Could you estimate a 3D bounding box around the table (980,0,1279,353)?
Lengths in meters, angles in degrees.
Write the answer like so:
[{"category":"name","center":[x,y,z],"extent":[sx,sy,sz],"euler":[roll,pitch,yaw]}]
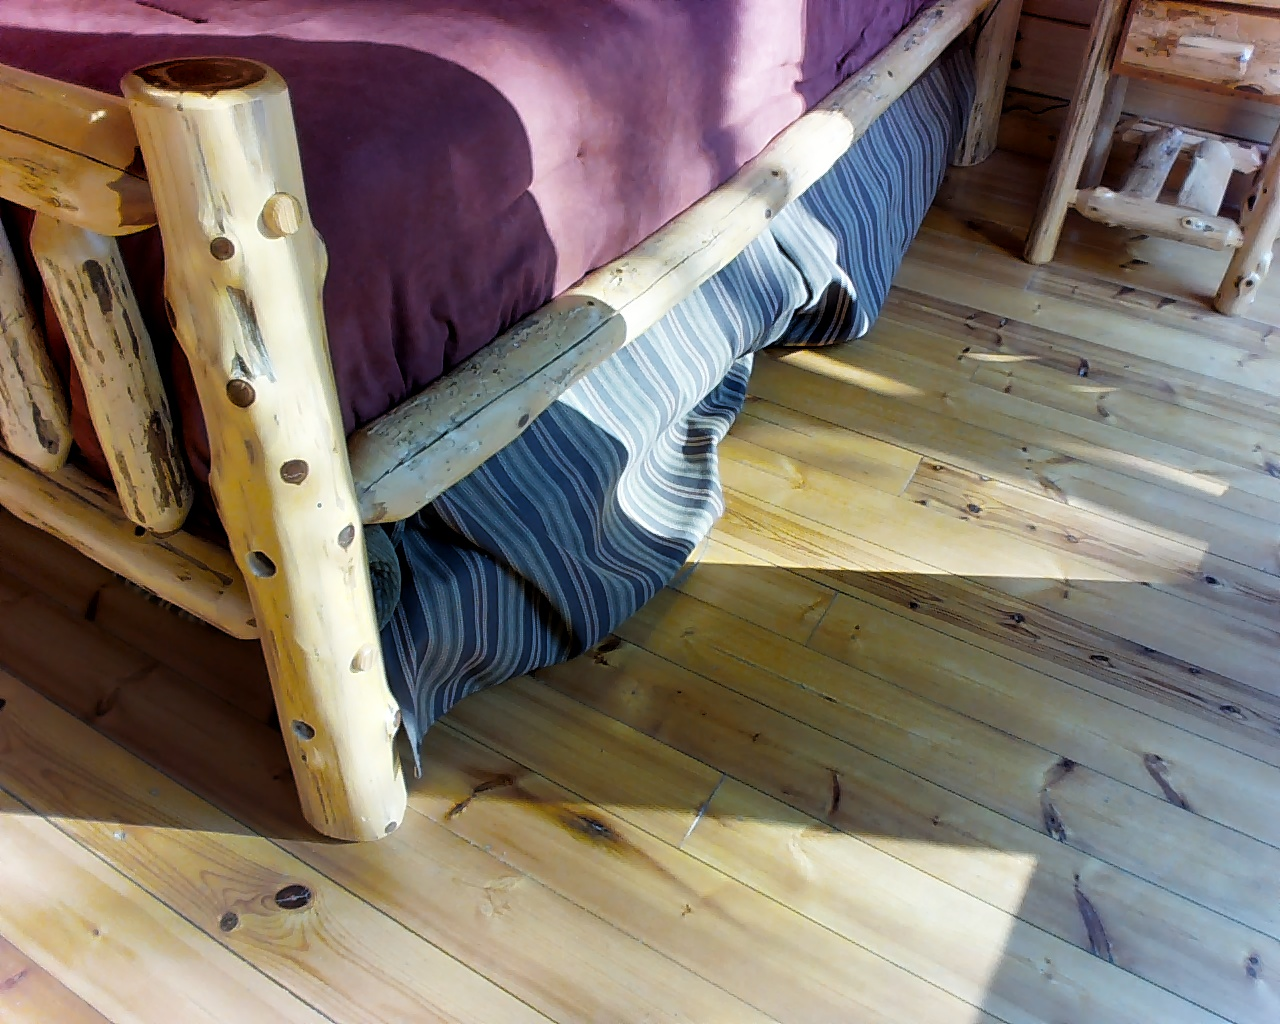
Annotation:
[{"category":"table","center":[1.190,-0.870,2.220],"extent":[0.630,0.690,0.660],"euler":[22,48,21]}]
